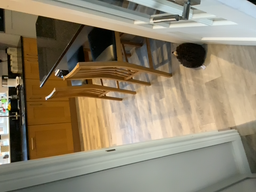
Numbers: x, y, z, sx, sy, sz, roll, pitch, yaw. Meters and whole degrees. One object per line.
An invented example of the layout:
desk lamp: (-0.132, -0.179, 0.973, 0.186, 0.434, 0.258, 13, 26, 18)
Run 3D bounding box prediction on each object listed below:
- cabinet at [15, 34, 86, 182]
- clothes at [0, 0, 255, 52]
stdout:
cabinet: (-1.460, 0.170, 3.880, 0.580, 0.900, 2.450, -27, 69, 51)
clothes: (0.000, -0.350, 0.830, 0.810, 1.950, 0.130, 23, 109, 52)
